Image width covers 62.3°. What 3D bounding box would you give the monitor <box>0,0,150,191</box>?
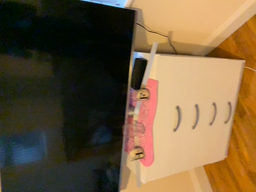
[{"bbox_3d":[-0.260,0.110,1.100,0.070,0.680,1.150,30,118,58],"label":"monitor"}]
